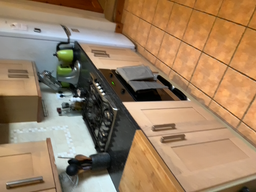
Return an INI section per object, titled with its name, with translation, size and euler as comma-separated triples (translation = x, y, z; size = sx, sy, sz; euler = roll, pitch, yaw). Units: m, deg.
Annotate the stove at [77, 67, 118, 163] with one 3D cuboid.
[stove]
translation = -0.310, 0.140, 1.930
size = 0.720, 0.060, 0.540
euler = 52, 134, 48
